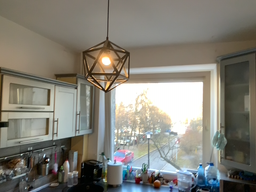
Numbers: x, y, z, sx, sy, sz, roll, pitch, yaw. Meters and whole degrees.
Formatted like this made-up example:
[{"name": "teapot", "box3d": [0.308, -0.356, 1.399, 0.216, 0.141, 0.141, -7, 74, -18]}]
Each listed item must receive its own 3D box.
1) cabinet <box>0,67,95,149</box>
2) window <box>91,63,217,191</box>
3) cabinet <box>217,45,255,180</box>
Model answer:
[{"name": "cabinet", "box3d": [-0.860, 0.140, 2.320, 0.310, 0.620, 1.470, 0, -4, 19]}, {"name": "window", "box3d": [0.290, 0.390, 2.770, 1.600, 1.570, 0.130, 0, -4, 19]}, {"name": "cabinet", "box3d": [1.180, 0.150, 2.150, 0.490, 1.210, 0.490, 0, -4, 19]}]
